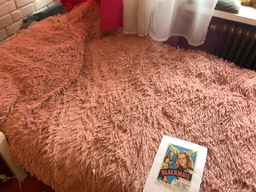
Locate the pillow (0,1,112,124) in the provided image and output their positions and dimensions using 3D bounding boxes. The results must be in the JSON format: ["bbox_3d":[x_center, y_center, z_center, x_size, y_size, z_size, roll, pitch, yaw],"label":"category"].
[{"bbox_3d":[-0.570,-0.310,1.360,0.530,0.180,0.950,21,47,16],"label":"pillow"}]
